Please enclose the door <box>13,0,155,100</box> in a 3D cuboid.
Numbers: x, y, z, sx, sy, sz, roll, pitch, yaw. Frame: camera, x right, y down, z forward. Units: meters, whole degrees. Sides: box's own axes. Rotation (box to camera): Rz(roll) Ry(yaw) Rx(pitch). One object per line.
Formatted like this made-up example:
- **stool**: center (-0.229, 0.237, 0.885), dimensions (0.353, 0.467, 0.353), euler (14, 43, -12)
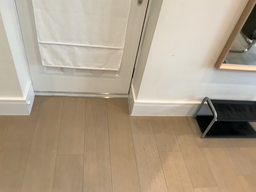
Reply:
- **door**: center (-0.250, -0.650, 1.280), dimensions (0.860, 1.890, 0.030), euler (2, 45, -11)
